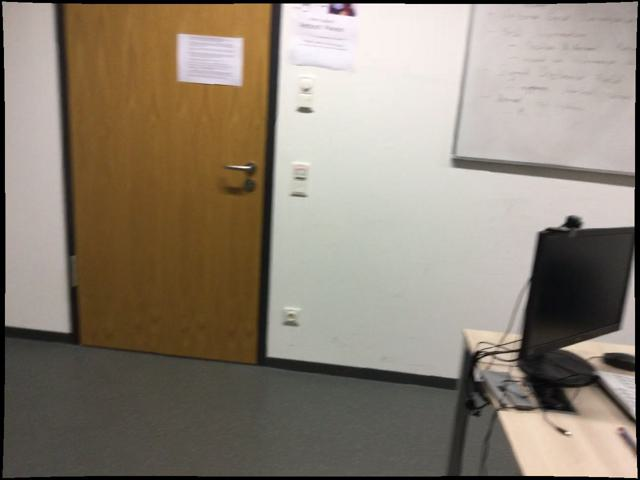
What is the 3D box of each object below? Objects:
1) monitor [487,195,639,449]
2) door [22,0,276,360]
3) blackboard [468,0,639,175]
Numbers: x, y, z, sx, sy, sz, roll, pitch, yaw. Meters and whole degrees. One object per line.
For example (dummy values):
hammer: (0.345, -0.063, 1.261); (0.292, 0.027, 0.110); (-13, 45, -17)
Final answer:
monitor: (0.669, 0.180, 1.480); (0.280, 0.500, 0.350); (17, 23, 38)
door: (-0.799, -0.350, 2.840); (1.119, 1.872, 0.190); (5, 18, 7)
blackboard: (1.269, -0.781, 2.370); (1.169, 1.011, 0.100); (5, 18, 7)
